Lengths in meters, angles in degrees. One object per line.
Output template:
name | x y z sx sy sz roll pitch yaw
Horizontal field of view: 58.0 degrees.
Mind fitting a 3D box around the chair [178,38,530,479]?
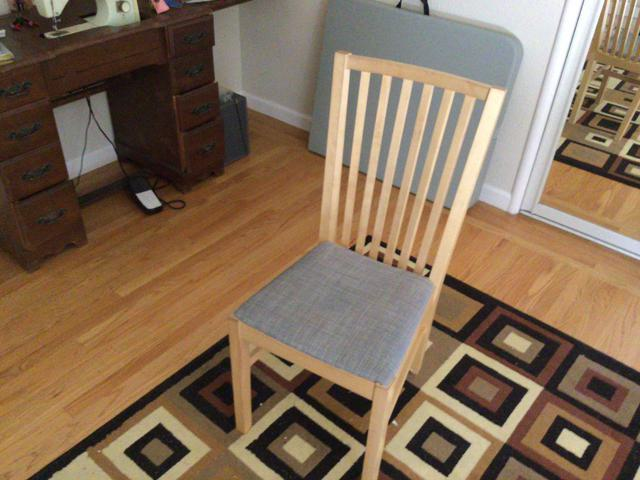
chair | 0.090 0.080 1.480 0.500 0.940 0.630 21 39 23

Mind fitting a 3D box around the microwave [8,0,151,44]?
microwave | -0.850 -0.870 2.050 0.240 0.210 0.400 25 41 28

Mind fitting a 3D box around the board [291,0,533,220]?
board | 0.330 -0.620 2.570 1.000 0.750 0.200 25 41 28
